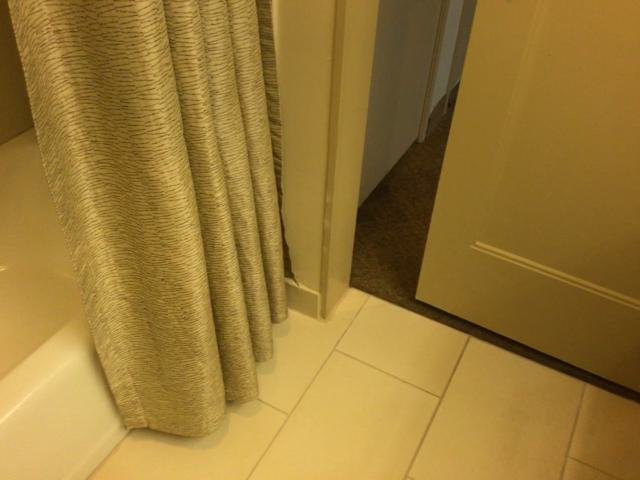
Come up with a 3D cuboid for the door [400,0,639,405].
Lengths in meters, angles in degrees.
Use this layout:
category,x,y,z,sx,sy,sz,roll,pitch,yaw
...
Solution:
category,x,y,z,sx,sy,sz,roll,pitch,yaw
door,0.570,-0.210,1.120,0.700,1.290,0.120,21,45,21
